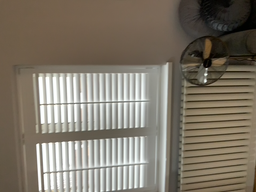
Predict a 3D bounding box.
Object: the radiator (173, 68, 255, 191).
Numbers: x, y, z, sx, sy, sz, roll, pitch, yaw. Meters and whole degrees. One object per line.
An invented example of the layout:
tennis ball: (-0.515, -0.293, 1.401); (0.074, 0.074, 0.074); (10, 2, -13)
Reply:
radiator: (0.790, 0.340, 1.860); (0.090, 0.780, 1.160); (-150, 59, -76)
